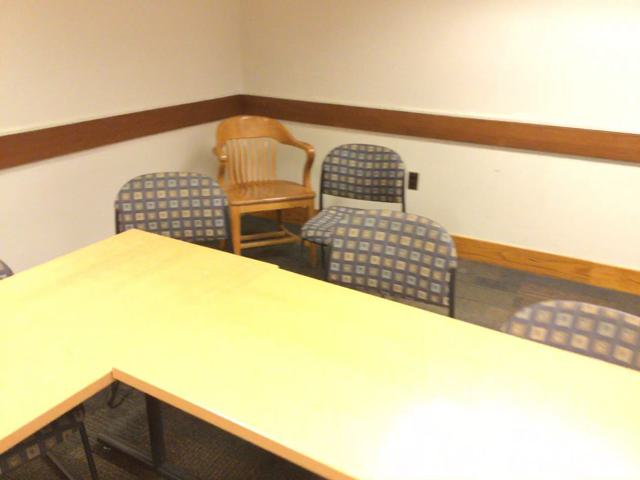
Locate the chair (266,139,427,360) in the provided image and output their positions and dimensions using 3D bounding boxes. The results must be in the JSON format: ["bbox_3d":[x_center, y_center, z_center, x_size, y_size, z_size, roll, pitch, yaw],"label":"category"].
[{"bbox_3d":[0.140,-0.010,2.690,0.490,0.790,0.720,9,19,22],"label":"chair"}]

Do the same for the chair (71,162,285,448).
[{"bbox_3d":[-0.490,0.160,2.110,0.590,0.750,0.770,-3,18,-13],"label":"chair"}]
